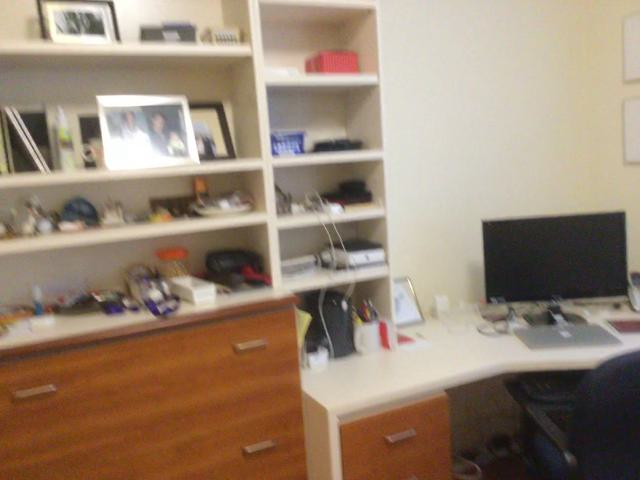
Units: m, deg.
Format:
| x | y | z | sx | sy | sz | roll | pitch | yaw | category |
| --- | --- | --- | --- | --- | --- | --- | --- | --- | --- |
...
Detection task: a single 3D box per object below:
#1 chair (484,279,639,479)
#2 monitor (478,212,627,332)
| x | y | z | sx | sy | sz | roll | pitch | yaw | category |
| --- | --- | --- | --- | --- | --- | --- | --- | --- | --- |
| 0.910 | 0.650 | 1.640 | 0.680 | 0.950 | 0.660 | -4 | 7 | 3 | chair |
| 0.910 | 0.120 | 2.290 | 0.500 | 0.410 | 0.200 | -4 | 7 | 1 | monitor |
